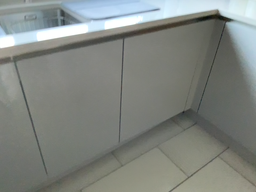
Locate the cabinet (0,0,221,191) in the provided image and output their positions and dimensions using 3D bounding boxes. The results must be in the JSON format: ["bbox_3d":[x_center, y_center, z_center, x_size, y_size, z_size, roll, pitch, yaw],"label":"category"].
[{"bbox_3d":[-0.320,-0.050,1.290,1.580,0.900,0.630,-20,42,-29],"label":"cabinet"}]
